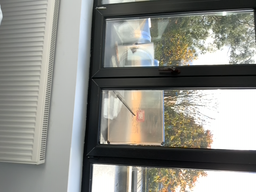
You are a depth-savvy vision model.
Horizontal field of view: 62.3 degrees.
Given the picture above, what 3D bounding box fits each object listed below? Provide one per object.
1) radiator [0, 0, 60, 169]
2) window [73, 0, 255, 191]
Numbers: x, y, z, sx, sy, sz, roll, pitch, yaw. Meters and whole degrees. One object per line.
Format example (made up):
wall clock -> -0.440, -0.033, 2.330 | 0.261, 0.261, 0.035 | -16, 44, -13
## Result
radiator -> -0.780, -0.200, 1.420 | 0.080, 0.560, 1.270 | 44, 47, -77
window -> 0.350, -0.120, 1.530 | 0.080, 1.400, 2.380 | 49, 42, -76
